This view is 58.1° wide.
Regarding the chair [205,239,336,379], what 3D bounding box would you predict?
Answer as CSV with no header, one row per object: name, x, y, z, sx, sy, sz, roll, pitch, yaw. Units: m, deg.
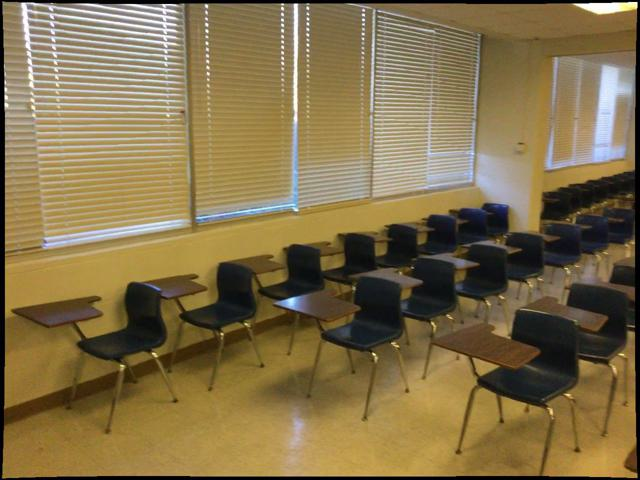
chair,-0.369,0.501,4.630,0.509,0.802,0.959,11,17,37

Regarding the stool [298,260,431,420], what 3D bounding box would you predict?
stool,0.309,0.632,3.920,0.529,0.772,0.769,12,17,39

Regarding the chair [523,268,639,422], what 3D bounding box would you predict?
chair,1.666,0.632,3.670,0.469,0.722,0.599,11,17,37

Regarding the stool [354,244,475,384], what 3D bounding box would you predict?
stool,0.728,0.521,4.410,0.529,0.772,0.829,12,17,39

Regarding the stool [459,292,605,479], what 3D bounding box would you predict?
stool,1.167,0.792,3.180,0.479,0.802,0.629,13,18,41

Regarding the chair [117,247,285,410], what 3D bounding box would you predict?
chair,-0.798,0.561,4.100,0.509,0.772,1.069,11,17,37

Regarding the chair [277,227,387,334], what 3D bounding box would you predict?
chair,0.120,0.321,5.130,0.519,0.672,0.909,11,17,37

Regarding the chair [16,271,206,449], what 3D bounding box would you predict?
chair,-1.257,0.682,3.600,0.459,0.712,0.979,11,17,37

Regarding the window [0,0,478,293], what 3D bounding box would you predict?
window,-0.259,-1.123,4.880,0.449,1.915,6.364,11,17,37
